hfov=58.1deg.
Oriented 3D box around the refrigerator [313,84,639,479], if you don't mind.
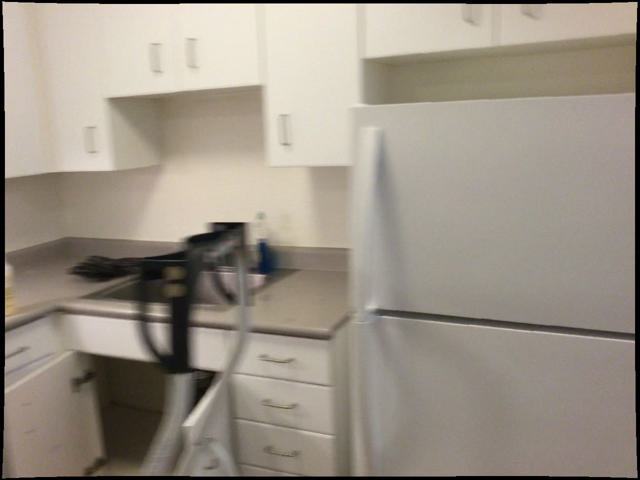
[{"bbox_3d":[0.419,0.451,1.370,0.778,1.554,0.170,2,14,24],"label":"refrigerator"}]
